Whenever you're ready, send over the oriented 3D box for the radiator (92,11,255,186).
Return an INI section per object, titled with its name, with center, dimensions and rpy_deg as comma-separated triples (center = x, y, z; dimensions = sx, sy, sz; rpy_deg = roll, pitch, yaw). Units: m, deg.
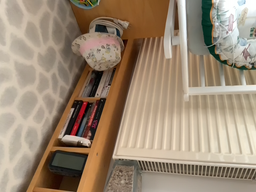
[radiator]
center = 0.290, -0.060, 0.970
dimensions = 0.670, 0.830, 0.190
rpy_deg = -2, 136, 17
